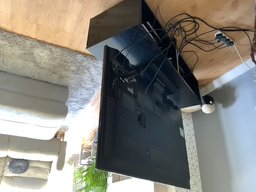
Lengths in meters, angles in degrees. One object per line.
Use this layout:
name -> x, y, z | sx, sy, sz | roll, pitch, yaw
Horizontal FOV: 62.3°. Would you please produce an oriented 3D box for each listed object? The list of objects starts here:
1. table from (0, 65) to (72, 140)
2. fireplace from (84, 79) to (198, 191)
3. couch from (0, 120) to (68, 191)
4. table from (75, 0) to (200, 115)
table -> -1.350, 0.120, 2.500 | 1.080, 0.410, 1.010 | 13, 150, -23
fireplace -> 0.060, 0.690, 2.860 | 0.830, 1.150, 1.370 | 14, 150, -23
couch -> -2.180, 1.120, 3.830 | 1.830, 1.020, 1.020 | 13, 150, -23
table -> 0.180, -0.260, 1.840 | 0.510, 0.370, 1.210 | -15, 148, 28
